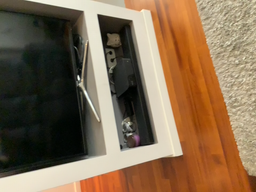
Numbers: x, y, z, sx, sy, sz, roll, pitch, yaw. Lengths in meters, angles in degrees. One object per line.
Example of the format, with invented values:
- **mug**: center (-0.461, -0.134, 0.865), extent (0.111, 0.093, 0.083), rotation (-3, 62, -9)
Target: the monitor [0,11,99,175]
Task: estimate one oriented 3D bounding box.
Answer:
- **monitor**: center (-0.520, -0.050, 1.280), extent (0.060, 0.600, 0.900), rotation (-24, 73, 53)
